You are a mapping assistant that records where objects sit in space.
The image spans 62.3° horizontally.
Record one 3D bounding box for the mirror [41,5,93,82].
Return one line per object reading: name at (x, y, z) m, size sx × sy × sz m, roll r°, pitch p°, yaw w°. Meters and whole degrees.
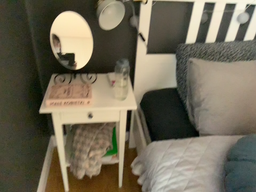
mirror at (-0.310, -0.280, 1.140) m, size 0.220 × 0.350 × 0.190 m, roll -3°, pitch 35°, yaw -11°
